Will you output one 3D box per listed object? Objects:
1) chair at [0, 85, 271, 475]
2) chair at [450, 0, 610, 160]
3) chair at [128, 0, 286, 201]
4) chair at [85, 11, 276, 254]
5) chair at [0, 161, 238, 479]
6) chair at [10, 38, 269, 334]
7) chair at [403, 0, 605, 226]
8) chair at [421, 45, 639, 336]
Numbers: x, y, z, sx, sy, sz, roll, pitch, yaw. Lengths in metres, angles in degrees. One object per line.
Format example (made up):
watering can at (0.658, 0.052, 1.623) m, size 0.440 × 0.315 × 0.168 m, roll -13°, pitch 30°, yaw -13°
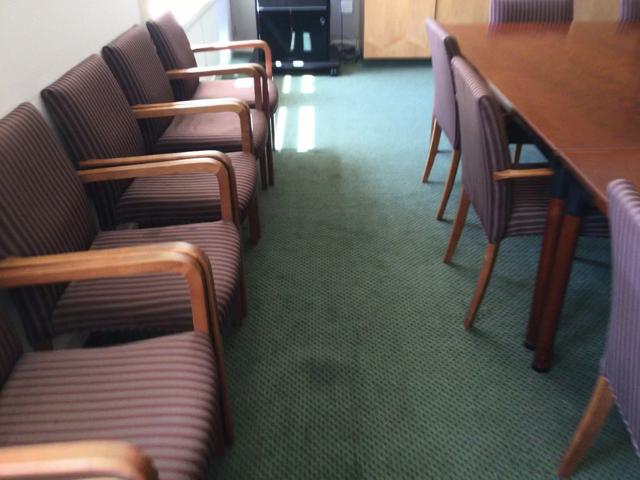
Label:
chair at (-0.490, 0.090, 1.600) m, size 0.600 × 0.840 × 0.660 m, roll -1°, pitch 31°, yaw 1°
chair at (1.060, -0.920, 3.100) m, size 0.540 × 0.770 × 0.640 m, roll -1°, pitch 31°, yaw 1°
chair at (-0.510, -0.760, 2.980) m, size 0.580 × 0.860 × 0.730 m, roll -1°, pitch 31°, yaw 1°
chair at (-0.530, -0.480, 2.530) m, size 0.570 × 0.860 × 0.650 m, roll -1°, pitch 31°, yaw 1°
chair at (-0.510, 0.200, 1.050) m, size 0.600 × 0.470 × 0.600 m, roll -1°, pitch 31°, yaw 1°
chair at (-0.540, -0.210, 2.080) m, size 0.600 × 0.850 × 0.650 m, roll -1°, pitch 31°, yaw 1°
chair at (0.760, -0.600, 2.650) m, size 0.640 × 0.880 × 0.600 m, roll -1°, pitch 31°, yaw 1°
chair at (0.730, -0.170, 1.970) m, size 0.640 × 0.830 × 0.520 m, roll -1°, pitch 31°, yaw 1°
